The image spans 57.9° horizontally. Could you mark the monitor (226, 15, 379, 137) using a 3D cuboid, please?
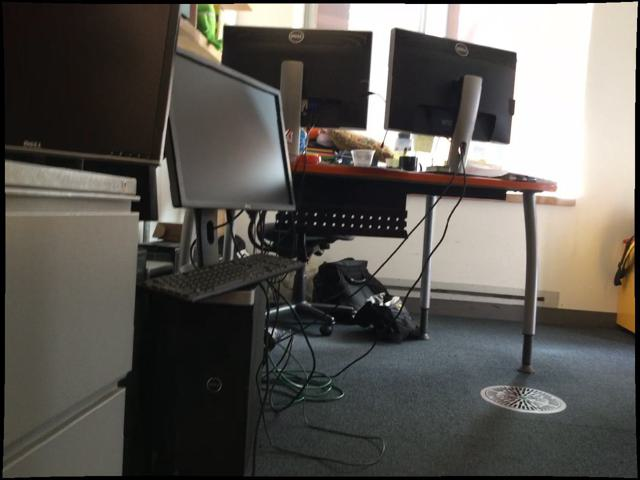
[{"bbox_3d":[-0.060,-0.581,2.070,0.500,0.360,0.150,6,6,6],"label":"monitor"}]

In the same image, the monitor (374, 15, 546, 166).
[{"bbox_3d":[0.490,-0.531,2.150,0.519,0.440,0.410,6,6,6],"label":"monitor"}]

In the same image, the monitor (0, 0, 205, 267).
[{"bbox_3d":[-0.420,-0.230,1.120,0.300,0.510,0.200,6,6,6],"label":"monitor"}]

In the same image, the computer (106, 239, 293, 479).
[{"bbox_3d":[-0.270,0.260,1.430,0.300,0.460,0.430,6,6,6],"label":"computer"}]
